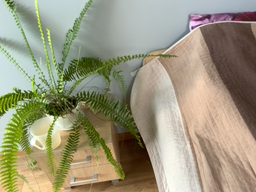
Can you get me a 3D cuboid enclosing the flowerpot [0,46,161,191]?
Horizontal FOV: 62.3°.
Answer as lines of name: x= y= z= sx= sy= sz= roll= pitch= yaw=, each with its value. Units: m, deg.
flowerpot: x=-0.360 y=0.160 z=0.950 sx=0.870 sy=0.360 sz=0.710 roll=-9 pitch=38 yaw=0
